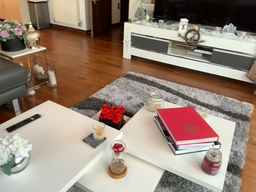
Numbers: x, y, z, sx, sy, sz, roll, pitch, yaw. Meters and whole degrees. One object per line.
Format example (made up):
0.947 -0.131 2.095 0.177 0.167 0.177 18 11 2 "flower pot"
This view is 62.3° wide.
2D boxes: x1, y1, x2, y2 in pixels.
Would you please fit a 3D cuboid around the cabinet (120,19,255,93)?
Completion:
0.890 -0.650 3.050 2.100 0.570 0.460 19 33 26 "cabinet"
